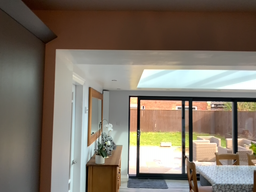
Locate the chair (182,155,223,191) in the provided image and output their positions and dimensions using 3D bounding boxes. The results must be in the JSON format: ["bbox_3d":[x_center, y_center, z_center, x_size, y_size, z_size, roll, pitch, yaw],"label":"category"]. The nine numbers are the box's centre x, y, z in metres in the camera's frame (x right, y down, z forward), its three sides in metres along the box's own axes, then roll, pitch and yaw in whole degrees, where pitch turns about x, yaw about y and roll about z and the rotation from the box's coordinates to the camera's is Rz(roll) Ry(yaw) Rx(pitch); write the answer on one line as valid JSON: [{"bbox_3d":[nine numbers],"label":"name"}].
[{"bbox_3d":[1.130,1.440,3.280,0.490,0.930,0.460,1,-3,2],"label":"chair"}]
